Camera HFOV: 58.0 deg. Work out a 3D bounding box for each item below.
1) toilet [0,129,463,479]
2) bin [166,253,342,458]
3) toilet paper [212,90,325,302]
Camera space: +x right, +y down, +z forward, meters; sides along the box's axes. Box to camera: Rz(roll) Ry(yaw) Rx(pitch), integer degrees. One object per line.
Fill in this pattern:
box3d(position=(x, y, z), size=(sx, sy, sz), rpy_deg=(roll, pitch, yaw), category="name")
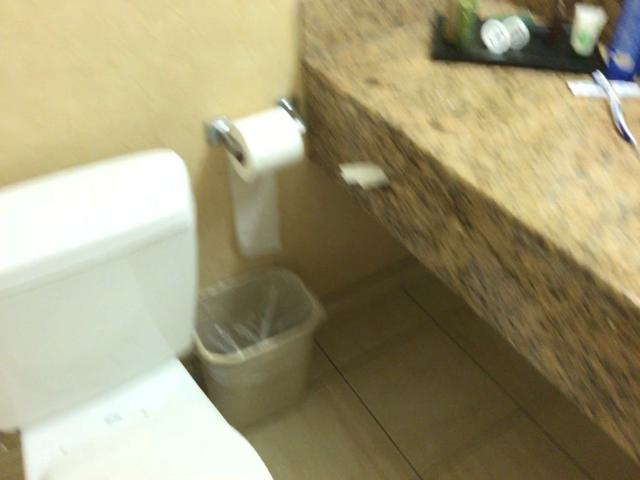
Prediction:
box3d(position=(-0.290, 0.380, 0.930), size=(0.510, 0.740, 0.750), rpy_deg=(-23, 47, -26), category="toilet")
box3d(position=(-0.150, 0.270, 1.380), size=(0.320, 0.320, 0.220), rpy_deg=(-23, 47, -26), category="bin")
box3d(position=(-0.100, -0.080, 1.190), size=(0.170, 0.400, 0.120), rpy_deg=(-23, 47, -26), category="toilet paper")
